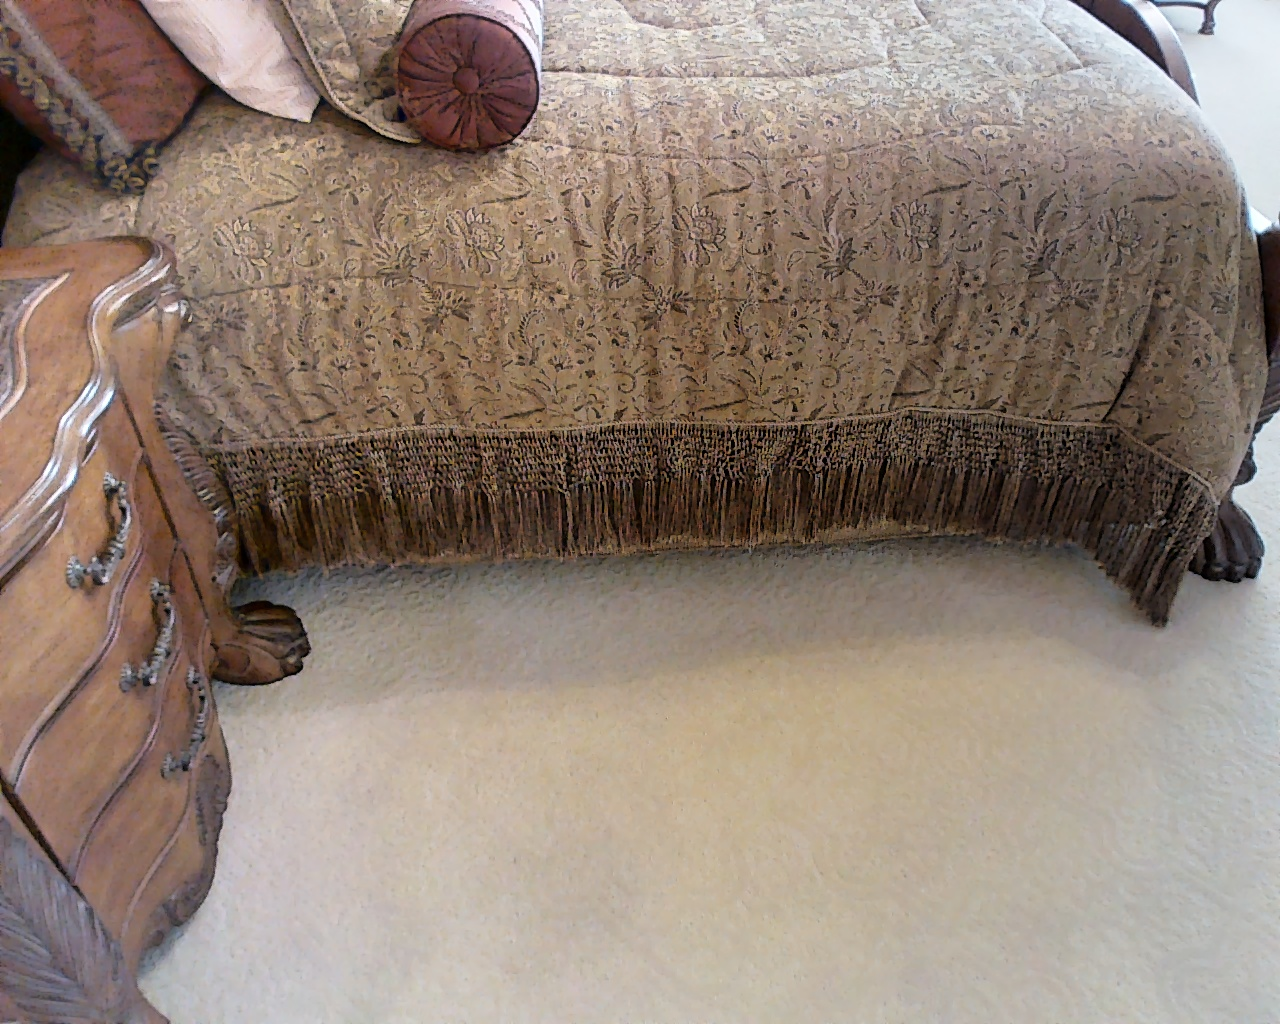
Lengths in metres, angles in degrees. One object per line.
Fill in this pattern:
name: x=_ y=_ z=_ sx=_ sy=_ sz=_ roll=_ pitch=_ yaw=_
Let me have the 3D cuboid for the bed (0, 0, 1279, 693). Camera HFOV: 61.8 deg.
bed: x=0.000 y=-0.890 z=2.600 sx=2.460 sy=0.990 sz=2.390 roll=-3 pitch=42 yaw=-4
